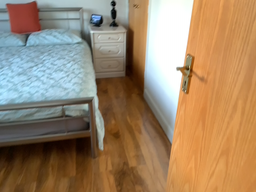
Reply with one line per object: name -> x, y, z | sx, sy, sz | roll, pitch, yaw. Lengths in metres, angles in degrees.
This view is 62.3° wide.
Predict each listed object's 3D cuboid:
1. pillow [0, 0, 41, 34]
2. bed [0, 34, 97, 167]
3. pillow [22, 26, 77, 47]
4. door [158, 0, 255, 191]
pillow -> -1.450, -1.090, 2.910 | 0.400, 0.420, 0.180 | -6, 51, -13
bed -> -1.280, -0.180, 2.420 | 1.610, 0.540, 2.140 | -5, 29, -12
pillow -> -1.070, -0.850, 2.980 | 0.660, 0.170, 0.450 | -4, 29, -10
door -> 0.320, 0.070, 0.550 | 0.050, 1.990, 0.760 | -7, 29, -15
